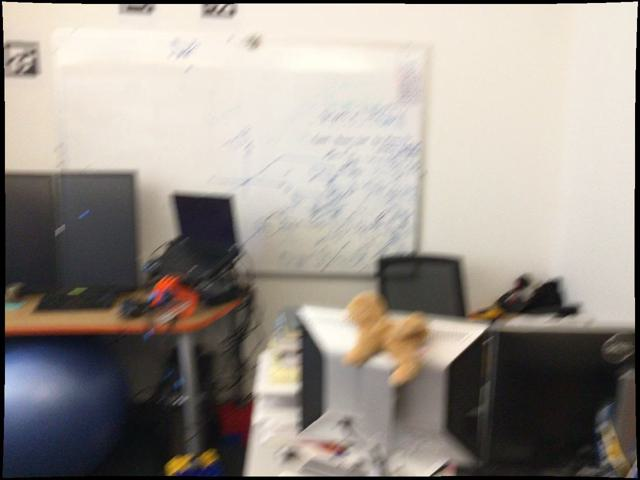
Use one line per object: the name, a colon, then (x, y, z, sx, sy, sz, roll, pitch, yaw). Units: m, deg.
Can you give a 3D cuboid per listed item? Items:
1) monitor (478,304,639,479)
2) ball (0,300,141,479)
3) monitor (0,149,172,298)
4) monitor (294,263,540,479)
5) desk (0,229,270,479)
monitor: (0.689, 0.440, 1.290, 0.589, 0.551, 0.220, 0, 10, -4)
ball: (-1.139, 0.641, 2.350, 0.669, 0.671, 0.520, 0, 10, -4)
monitor: (-1.179, -0.100, 2.660, 0.869, 0.611, 0.520, 0, 10, -4)
monitor: (0.200, 0.320, 1.370, 0.509, 0.490, 0.240, 0, 10, -4)
desk: (-0.989, 0.551, 2.560, 1.508, 1.031, 1.070, 0, 10, -4)
